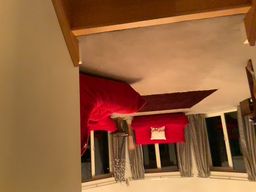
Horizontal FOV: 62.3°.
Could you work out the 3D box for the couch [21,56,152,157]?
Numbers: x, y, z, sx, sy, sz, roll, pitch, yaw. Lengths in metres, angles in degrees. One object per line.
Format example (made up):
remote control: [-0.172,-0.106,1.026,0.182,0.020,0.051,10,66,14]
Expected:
couch: [-0.500,0.220,2.550,1.050,0.860,1.080,-15,165,40]
